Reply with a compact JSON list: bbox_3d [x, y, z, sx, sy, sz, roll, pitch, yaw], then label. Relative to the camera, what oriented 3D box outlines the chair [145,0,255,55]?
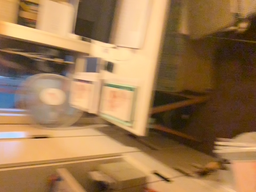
[{"bbox_3d":[0.510,-0.530,1.240,0.380,0.680,0.430,14,95,51],"label":"chair"}]

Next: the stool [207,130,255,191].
[{"bbox_3d":[0.680,0.340,1.070,0.300,0.460,0.260,13,94,51],"label":"stool"}]
